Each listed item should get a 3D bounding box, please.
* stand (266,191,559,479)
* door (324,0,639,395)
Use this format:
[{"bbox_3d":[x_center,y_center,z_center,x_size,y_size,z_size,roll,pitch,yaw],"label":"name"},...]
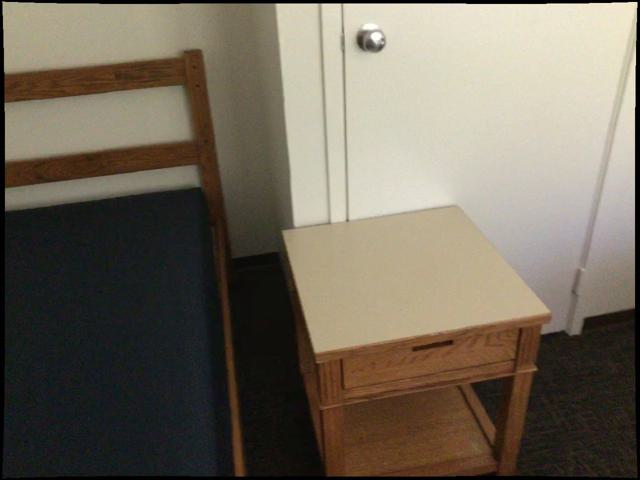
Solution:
[{"bbox_3d":[0.199,0.301,1.580,0.559,0.601,0.590,-10,30,-7],"label":"stand"},{"bbox_3d":[0.479,-0.130,1.640,0.848,1.262,0.070,-10,30,-7],"label":"door"}]
